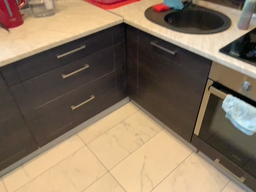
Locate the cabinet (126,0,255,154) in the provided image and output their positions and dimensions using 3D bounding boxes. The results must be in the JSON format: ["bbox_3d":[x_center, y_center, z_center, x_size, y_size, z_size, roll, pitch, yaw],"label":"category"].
[{"bbox_3d":[0.440,-0.180,1.640,0.600,0.850,0.650,-30,48,-28],"label":"cabinet"}]
